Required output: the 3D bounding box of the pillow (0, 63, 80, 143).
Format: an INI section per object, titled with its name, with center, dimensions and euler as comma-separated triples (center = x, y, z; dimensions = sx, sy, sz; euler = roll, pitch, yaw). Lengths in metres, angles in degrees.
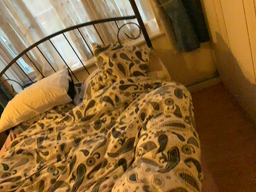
[pillow]
center = -0.790, 0.050, 1.830
dimensions = 0.650, 0.270, 0.430
euler = -24, 30, 7
